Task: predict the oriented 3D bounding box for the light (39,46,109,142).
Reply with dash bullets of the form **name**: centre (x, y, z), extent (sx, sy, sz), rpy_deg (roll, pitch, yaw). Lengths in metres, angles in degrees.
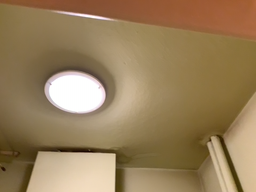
- **light**: centre (-0.250, -0.010, 1.120), extent (0.120, 0.370, 0.330), rpy_deg (13, -132, 18)
